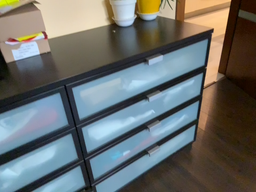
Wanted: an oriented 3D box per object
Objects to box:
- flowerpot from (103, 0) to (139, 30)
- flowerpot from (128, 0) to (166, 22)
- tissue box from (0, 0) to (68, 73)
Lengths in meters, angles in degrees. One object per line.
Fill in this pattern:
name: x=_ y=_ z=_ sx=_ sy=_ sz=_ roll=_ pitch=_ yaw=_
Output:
flowerpot: x=-0.040 y=-0.500 z=1.180 sx=0.140 sy=0.210 sz=0.140 roll=-23 pitch=38 yaw=-26
flowerpot: x=0.110 y=-0.590 z=1.240 sx=0.170 sy=0.250 sz=0.140 roll=-23 pitch=38 yaw=-26
tissue box: x=-0.450 y=-0.290 z=0.930 sx=0.250 sy=0.250 sz=0.220 roll=-24 pitch=38 yaw=-28
